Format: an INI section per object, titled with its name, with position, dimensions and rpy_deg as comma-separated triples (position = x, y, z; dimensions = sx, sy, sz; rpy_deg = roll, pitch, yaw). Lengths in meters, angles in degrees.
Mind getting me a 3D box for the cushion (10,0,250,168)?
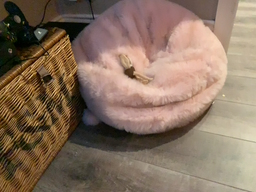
[cushion]
position = 0.080, -0.180, 0.900
dimensions = 0.690, 0.370, 0.650
rpy_deg = 12, 45, 20
